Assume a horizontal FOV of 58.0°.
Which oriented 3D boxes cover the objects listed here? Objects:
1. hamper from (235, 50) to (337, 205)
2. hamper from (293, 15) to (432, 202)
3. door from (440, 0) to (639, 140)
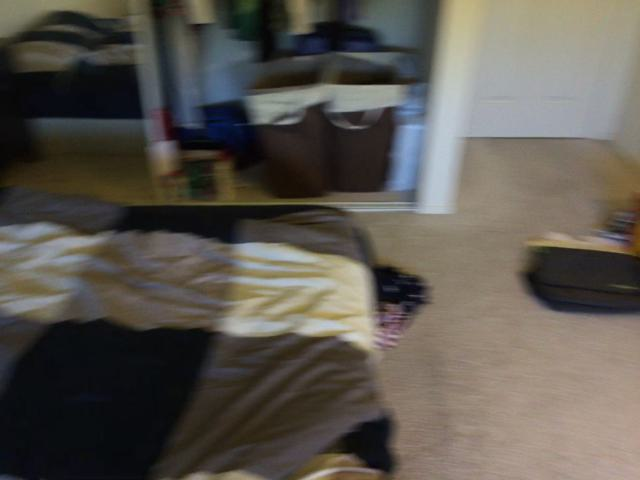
[{"bbox_3d":[-0.130,-0.550,2.770,0.410,0.570,0.550,0,32,3],"label":"hamper"},{"bbox_3d":[0.190,-0.640,2.770,0.560,0.710,0.600,0,32,3],"label":"hamper"},{"bbox_3d":[1.130,-1.420,2.700,0.950,1.960,0.130,0,32,3],"label":"door"}]
